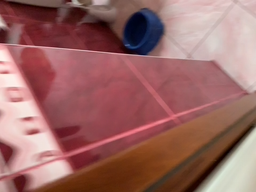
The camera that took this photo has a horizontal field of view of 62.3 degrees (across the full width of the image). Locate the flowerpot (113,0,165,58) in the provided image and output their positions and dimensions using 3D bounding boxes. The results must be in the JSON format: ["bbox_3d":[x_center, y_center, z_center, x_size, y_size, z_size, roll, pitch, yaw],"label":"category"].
[{"bbox_3d":[0.060,-0.440,1.390,0.260,0.080,0.260,51,124,23],"label":"flowerpot"}]
